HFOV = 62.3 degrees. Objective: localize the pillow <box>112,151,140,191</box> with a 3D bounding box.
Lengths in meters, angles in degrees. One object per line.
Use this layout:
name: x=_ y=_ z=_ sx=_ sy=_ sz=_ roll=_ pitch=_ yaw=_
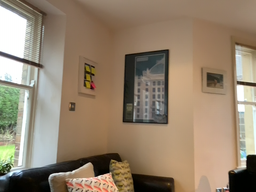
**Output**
pillow: x=-0.030 y=0.880 z=2.300 sx=0.210 sy=0.370 sz=0.610 roll=14 pitch=-1 yaw=0
